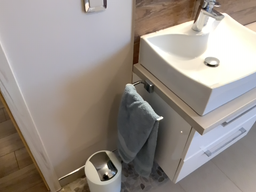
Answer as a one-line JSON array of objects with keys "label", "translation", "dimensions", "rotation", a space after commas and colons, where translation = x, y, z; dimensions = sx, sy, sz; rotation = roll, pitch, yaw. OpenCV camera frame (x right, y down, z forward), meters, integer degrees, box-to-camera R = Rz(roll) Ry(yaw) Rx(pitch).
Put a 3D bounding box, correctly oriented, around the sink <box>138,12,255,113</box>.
[{"label": "sink", "translation": [0.400, -0.200, 0.970], "dimensions": [0.580, 0.130, 0.400], "rotation": [-22, 48, -24]}]
